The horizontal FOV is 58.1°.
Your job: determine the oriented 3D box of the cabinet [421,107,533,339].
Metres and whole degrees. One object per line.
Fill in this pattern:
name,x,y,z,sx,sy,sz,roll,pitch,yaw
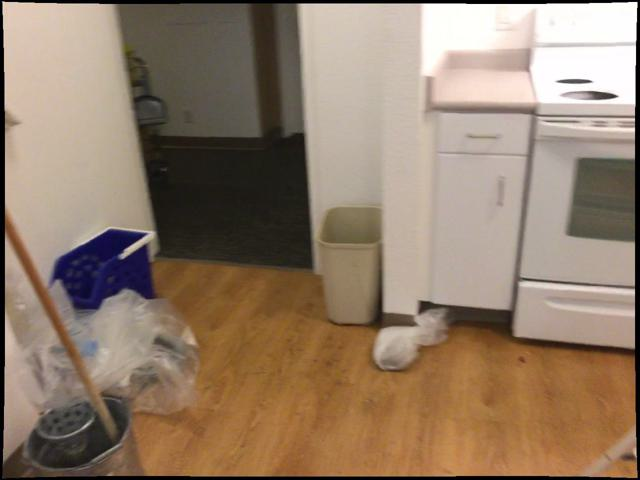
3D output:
cabinet,0.559,-0.040,2.130,0.349,0.882,0.090,3,26,15

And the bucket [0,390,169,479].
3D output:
bucket,-0.668,0.642,1.640,0.329,0.261,0.280,3,26,15
